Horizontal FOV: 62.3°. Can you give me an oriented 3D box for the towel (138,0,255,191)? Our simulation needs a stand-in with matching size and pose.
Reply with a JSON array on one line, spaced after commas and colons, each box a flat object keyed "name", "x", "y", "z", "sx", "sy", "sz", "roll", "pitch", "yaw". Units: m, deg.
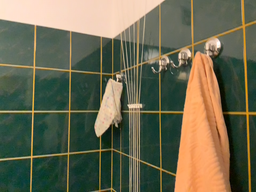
[{"name": "towel", "x": 0.200, "y": 0.300, "z": 0.670, "sx": 0.200, "sy": 1.080, "sz": 0.320, "roll": 2, "pitch": -3, "yaw": -28}]

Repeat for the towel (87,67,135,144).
[{"name": "towel", "x": -0.110, "y": 0.060, "z": 1.330, "sx": 0.210, "sy": 0.430, "sz": 0.230, "roll": 3, "pitch": -4, "yaw": -35}]
